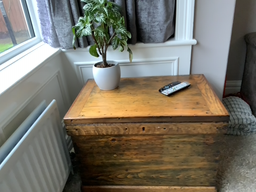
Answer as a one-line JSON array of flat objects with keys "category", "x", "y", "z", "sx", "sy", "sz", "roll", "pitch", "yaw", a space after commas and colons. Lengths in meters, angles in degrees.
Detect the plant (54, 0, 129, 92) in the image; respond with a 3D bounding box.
[{"category": "plant", "x": -0.190, "y": -0.370, "z": 1.340, "sx": 0.320, "sy": 0.590, "sz": 0.340, "roll": -2, "pitch": 28, "yaw": 6}]
